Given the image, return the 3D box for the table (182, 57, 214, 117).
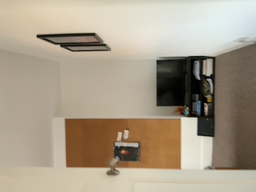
[{"bbox_3d":[1.110,-0.150,3.400,0.360,0.390,0.910,-61,-29,-84],"label":"table"}]
